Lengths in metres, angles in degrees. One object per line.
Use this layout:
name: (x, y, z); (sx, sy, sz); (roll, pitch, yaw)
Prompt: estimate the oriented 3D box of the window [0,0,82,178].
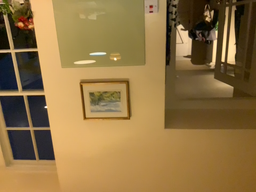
window: (-1.350, -0.020, 2.060); (1.610, 1.790, 0.130); (0, -162, 7)
